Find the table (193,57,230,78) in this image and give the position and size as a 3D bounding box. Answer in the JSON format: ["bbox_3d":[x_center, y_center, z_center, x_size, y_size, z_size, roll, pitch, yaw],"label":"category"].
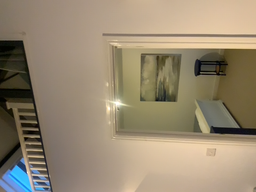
[{"bbox_3d":[1.880,-0.660,4.830,0.360,0.660,0.400,-73,-16,-73],"label":"table"}]
